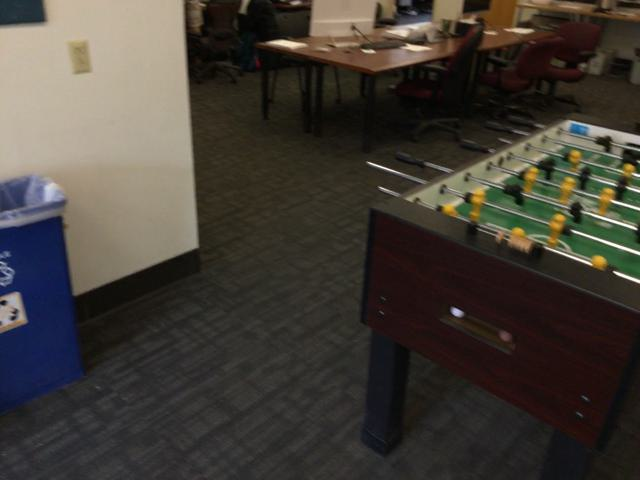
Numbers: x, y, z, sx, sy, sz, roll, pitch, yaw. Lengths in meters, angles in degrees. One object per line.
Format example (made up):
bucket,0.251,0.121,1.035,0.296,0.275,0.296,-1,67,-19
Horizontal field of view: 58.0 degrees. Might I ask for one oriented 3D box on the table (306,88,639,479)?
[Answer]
table,0.880,0.180,1.890,1.160,0.870,1.480,23,36,34
